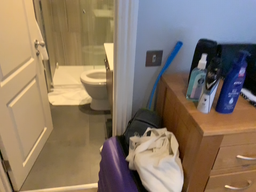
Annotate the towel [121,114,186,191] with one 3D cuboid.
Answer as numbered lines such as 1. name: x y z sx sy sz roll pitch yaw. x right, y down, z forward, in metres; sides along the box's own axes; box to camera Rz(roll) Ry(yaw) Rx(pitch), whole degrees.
1. towel: 0.090 0.240 0.940 0.180 0.150 0.320 -4 31 -12

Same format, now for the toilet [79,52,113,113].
1. toilet: -0.350 -0.150 2.430 0.340 0.610 0.320 -1 30 -7

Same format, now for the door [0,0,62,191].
1. door: -0.770 -0.290 1.510 0.130 2.050 0.800 4 30 1
